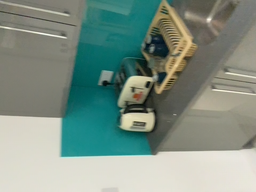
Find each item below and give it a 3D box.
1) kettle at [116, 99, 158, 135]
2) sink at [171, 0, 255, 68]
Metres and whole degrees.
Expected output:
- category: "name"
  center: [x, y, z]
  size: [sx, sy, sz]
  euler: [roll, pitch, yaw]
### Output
- category: "kettle"
  center: [0.050, 0.140, 1.360]
  size: [0.140, 0.190, 0.180]
  euler: [-106, 30, -42]
- category: "sink"
  center: [0.480, -0.470, 1.000]
  size: [0.410, 0.220, 0.500]
  euler: [-106, 30, -42]
